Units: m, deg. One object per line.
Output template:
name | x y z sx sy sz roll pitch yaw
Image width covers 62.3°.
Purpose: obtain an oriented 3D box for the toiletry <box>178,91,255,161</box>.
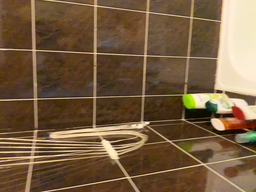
toiletry | 0.460 0.100 0.930 0.500 0.210 0.180 -159 69 -67
